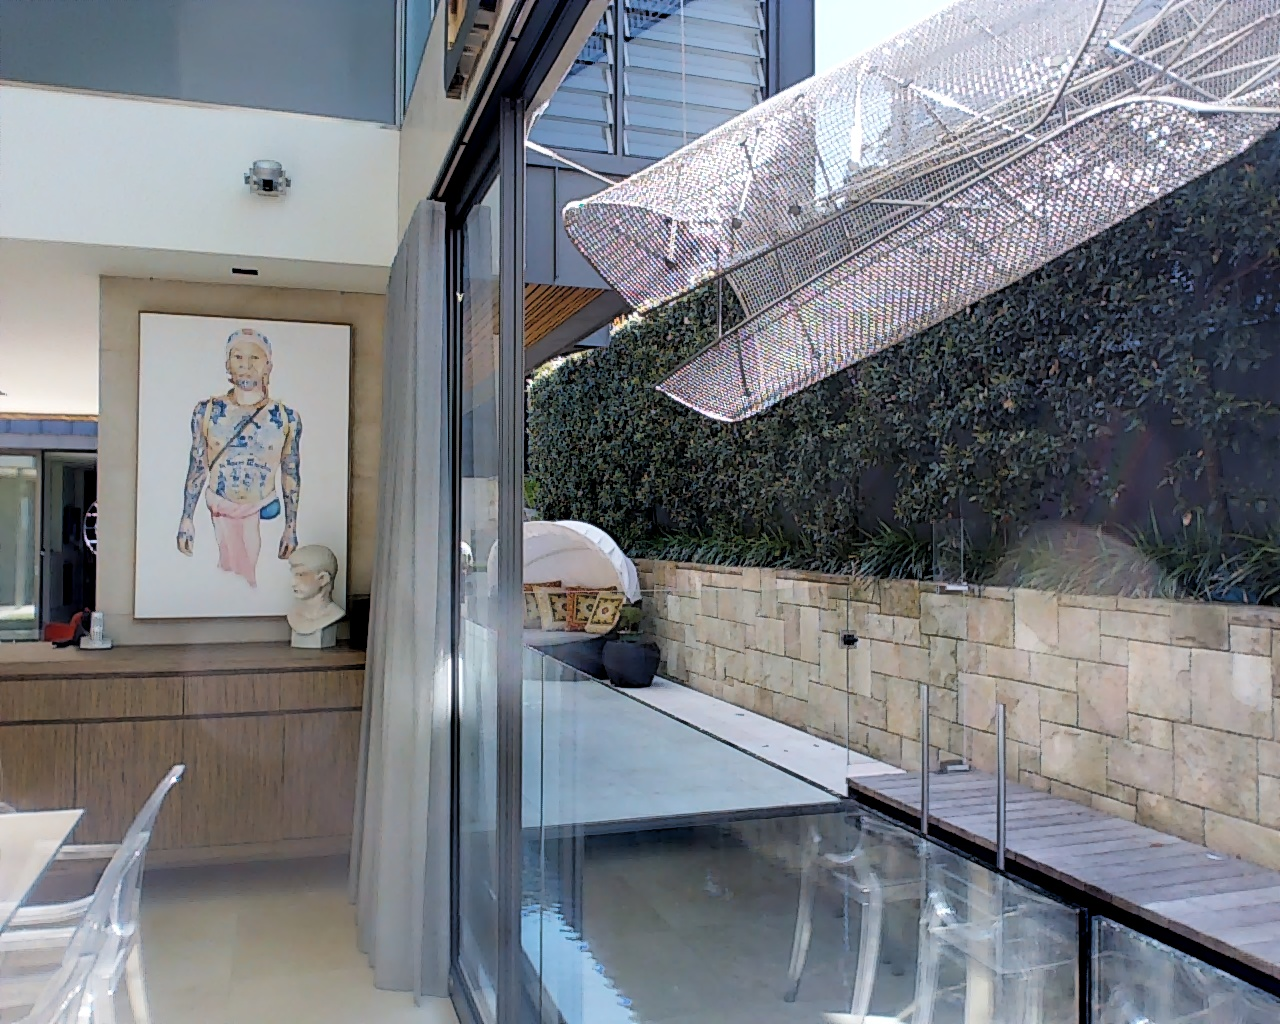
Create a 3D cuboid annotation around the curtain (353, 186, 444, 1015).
[{"bbox_3d":[-0.880,0.280,3.840,0.190,2.651,0.820,1,-1,-20],"label":"curtain"}]
